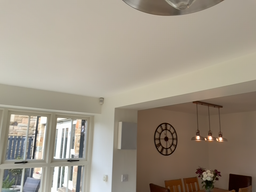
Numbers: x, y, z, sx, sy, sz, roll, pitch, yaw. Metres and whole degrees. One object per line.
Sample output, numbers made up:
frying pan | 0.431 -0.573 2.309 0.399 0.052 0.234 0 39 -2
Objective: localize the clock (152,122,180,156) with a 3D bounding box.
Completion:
clock | 0.840 0.950 4.700 0.730 0.700 0.140 10 -14 -36

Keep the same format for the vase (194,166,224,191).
vase | 1.420 1.480 3.730 0.350 0.420 0.400 -10 -16 43
